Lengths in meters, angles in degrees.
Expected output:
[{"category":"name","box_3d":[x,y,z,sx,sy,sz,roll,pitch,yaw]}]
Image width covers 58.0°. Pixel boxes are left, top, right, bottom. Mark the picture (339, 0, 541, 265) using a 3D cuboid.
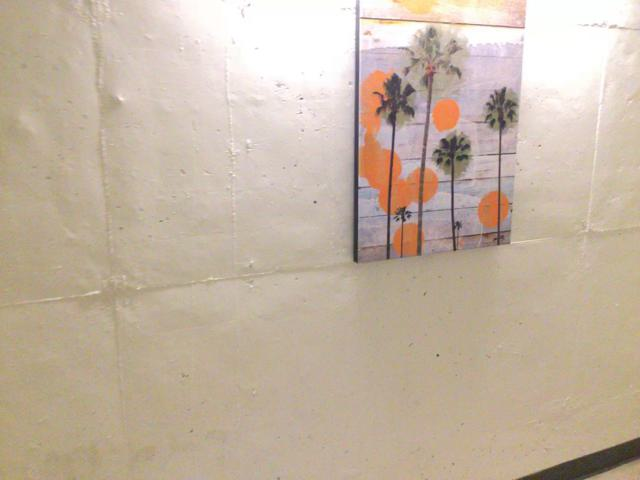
[{"category":"picture","box_3d":[0.380,-0.320,1.770,0.640,0.780,0.070,0,7,-27]}]
